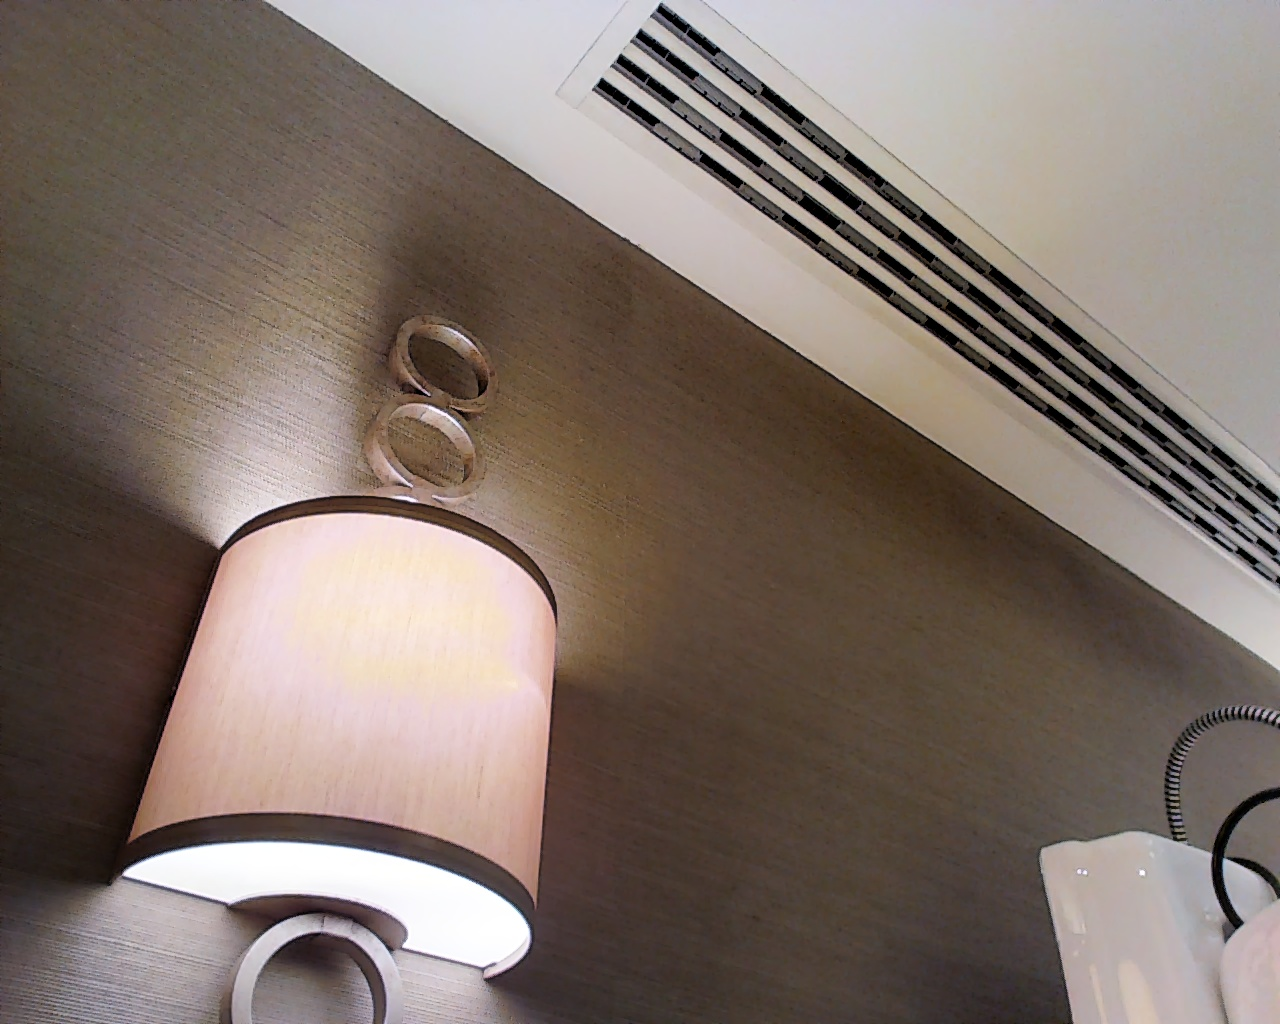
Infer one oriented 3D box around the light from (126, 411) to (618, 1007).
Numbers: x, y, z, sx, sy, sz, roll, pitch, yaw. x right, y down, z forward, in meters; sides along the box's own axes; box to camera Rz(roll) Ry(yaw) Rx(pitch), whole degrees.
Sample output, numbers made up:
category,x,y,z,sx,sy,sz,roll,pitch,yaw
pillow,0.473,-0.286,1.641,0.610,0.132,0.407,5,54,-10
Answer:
category,x,y,z,sx,sy,sz,roll,pitch,yaw
light,-0.130,0.110,0.600,0.190,0.250,0.130,27,-48,-27
